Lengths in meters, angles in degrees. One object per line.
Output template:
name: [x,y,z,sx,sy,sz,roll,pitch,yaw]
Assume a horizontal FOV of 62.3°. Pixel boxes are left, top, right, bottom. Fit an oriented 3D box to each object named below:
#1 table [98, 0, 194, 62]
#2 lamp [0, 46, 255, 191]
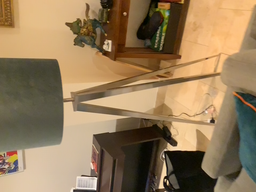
table: [0.160,-0.720,1.930,0.370,0.730,0.730,40,129,54]
lamp: [0.110,0.020,1.240,0.440,1.550,0.470,42,130,53]
